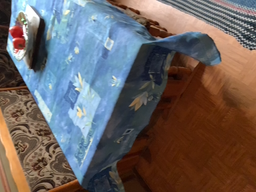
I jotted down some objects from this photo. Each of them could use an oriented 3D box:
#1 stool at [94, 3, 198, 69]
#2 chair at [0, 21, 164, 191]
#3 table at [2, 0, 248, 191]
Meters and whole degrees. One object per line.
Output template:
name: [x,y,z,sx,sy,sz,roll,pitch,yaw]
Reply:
stool: [0.110,-0.330,1.230,0.320,0.470,0.220,40,121,39]
chair: [-0.600,-0.030,1.740,1.570,0.860,0.490,46,124,35]
table: [-0.180,-0.270,1.330,1.310,0.760,0.670,44,124,36]
